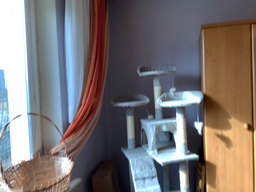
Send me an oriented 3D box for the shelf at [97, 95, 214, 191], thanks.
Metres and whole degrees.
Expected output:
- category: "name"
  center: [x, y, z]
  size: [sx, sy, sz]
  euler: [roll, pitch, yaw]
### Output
- category: "shelf"
  center: [0.300, 0.700, 1.870]
  size: [0.770, 1.370, 0.920]
  euler: [-1, 2, 17]
